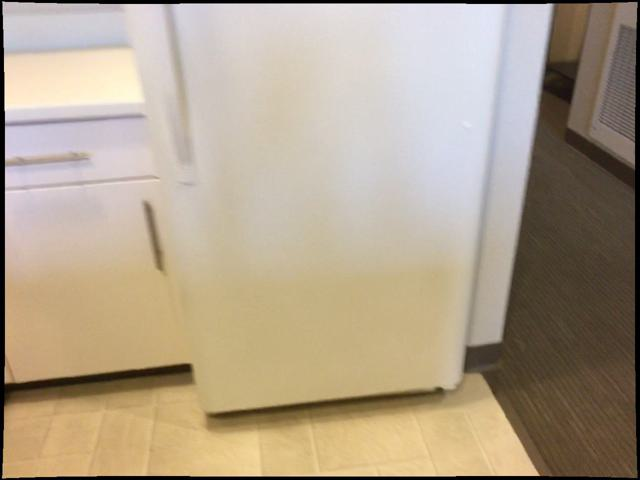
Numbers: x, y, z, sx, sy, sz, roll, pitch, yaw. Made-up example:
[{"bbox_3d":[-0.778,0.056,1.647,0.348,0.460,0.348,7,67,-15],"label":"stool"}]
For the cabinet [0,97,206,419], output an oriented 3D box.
[{"bbox_3d":[-0.698,0.090,1.580,0.648,0.902,0.120,-5,30,-5],"label":"cabinet"}]
